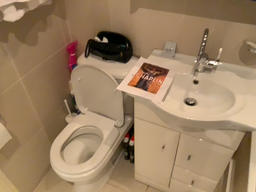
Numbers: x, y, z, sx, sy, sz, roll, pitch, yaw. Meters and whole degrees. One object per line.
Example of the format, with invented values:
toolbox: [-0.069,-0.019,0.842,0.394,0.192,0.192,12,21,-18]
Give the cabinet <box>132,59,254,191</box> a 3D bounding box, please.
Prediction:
cabinet: [0.340,0.260,1.310,0.510,0.800,0.370,17,46,20]
